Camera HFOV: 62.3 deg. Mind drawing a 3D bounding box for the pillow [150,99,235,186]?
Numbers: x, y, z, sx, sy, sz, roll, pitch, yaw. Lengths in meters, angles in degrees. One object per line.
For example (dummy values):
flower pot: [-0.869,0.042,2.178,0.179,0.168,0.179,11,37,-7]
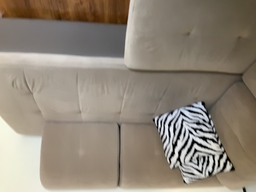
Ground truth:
pillow: [0.420,0.320,1.490,0.420,0.420,0.210,-29,126,18]
